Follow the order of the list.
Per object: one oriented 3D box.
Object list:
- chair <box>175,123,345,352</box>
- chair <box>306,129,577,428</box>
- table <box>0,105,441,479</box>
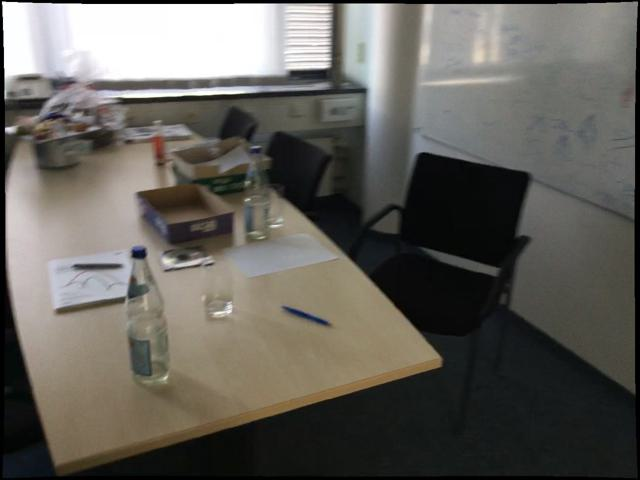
[{"bbox_3d":[-0.250,-0.040,2.410,0.490,0.721,0.520,-13,30,-26],"label":"chair"},{"bbox_3d":[0.430,0.070,2.120,0.680,0.701,0.700,17,31,30],"label":"chair"},{"bbox_3d":[-0.619,0.150,2.190,0.909,0.721,2.280,-10,29,-22],"label":"table"}]
